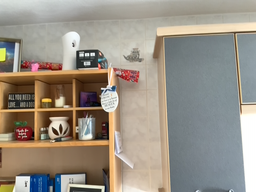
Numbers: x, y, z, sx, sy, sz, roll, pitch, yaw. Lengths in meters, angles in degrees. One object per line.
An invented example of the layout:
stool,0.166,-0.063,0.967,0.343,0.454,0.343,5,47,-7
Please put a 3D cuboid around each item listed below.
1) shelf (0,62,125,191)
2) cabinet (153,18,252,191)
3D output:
shelf,-0.440,0.880,1.010,0.840,2.030,0.290,-1,-6,3
cabinet,0.310,0.110,1.020,0.330,0.820,0.360,-1,-6,3
